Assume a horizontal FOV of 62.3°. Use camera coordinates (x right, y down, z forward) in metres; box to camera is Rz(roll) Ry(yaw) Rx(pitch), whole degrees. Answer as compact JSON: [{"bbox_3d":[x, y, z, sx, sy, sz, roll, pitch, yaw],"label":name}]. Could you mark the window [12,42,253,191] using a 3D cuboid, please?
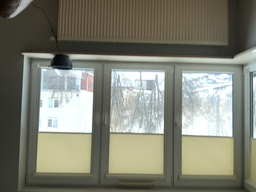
[{"bbox_3d":[0.070,0.320,2.480,2.660,1.810,0.200,1,177,0],"label":"window"}]
